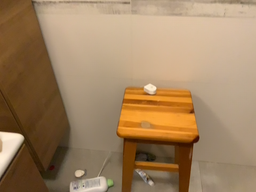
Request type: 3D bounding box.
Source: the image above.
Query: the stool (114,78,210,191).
[{"bbox_3d":[0.140,0.260,1.050,0.330,0.590,0.340,4,40,7],"label":"stool"}]
